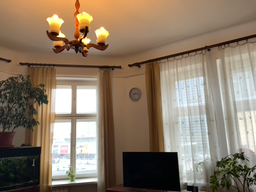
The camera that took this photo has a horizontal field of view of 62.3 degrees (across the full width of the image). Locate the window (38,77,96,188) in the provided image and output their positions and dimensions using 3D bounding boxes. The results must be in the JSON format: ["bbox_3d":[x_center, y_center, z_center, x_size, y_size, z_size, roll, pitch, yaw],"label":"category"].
[{"bbox_3d":[-1.320,0.750,4.740,1.170,2.290,0.290,2,-11,-21],"label":"window"}]

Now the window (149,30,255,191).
[{"bbox_3d":[1.560,0.500,3.530,2.380,2.960,0.230,-8,-12,29],"label":"window"}]
